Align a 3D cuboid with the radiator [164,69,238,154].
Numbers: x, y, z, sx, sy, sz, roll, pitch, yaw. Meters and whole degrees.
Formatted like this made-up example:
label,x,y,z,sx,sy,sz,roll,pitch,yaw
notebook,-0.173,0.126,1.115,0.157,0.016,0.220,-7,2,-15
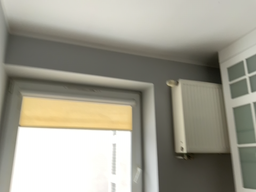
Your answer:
label,x,y,z,sx,sy,sz,roll,pitch,yaw
radiator,0.630,0.160,1.890,0.510,0.690,0.250,5,-17,-19
